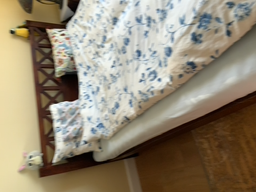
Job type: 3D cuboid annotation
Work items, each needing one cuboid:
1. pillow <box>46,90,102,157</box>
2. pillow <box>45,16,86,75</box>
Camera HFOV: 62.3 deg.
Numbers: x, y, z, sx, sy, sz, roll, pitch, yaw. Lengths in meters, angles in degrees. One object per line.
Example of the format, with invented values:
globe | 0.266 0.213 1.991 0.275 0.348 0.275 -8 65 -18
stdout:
pillow | -0.500 0.260 1.990 0.240 0.400 0.510 101 155 -70
pillow | -0.670 -0.530 2.240 0.120 0.340 0.530 38 -146 -65
